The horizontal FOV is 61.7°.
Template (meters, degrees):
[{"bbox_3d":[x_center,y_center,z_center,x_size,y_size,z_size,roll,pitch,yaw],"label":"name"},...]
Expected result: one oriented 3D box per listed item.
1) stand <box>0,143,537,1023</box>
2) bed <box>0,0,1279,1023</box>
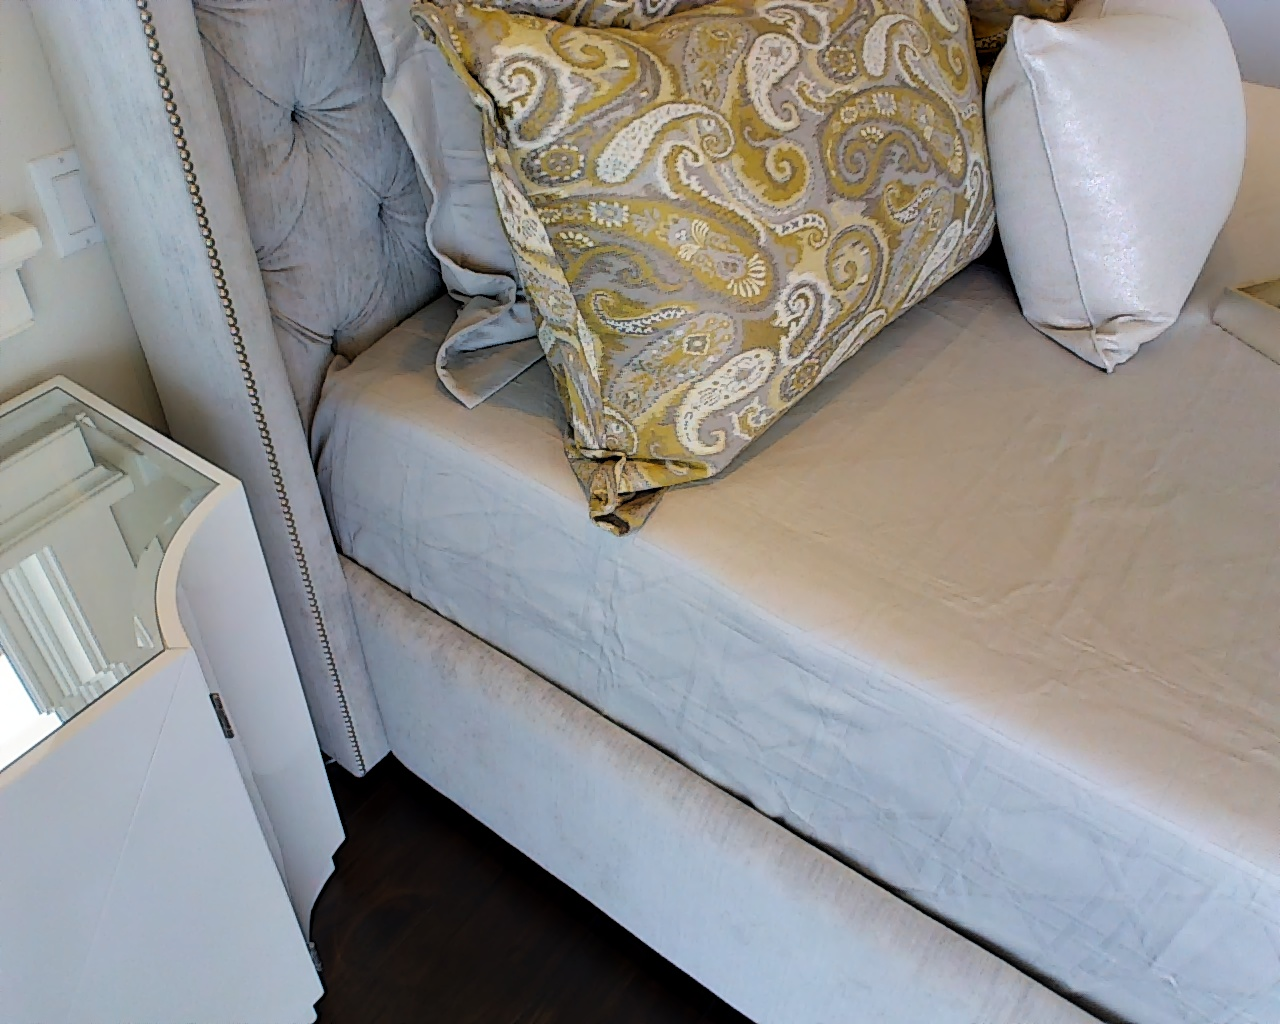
[{"bbox_3d":[-0.710,0.380,1.100,0.590,1.050,1.090,26,47,26],"label":"stand"},{"bbox_3d":[0.970,-0.340,1.390,2.440,1.650,2.210,26,47,26],"label":"bed"}]
